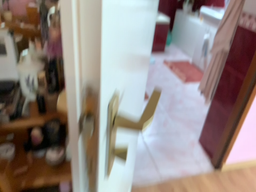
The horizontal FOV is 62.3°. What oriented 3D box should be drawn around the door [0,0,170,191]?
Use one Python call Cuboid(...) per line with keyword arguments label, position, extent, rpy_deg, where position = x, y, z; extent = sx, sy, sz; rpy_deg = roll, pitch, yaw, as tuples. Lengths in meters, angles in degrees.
Cuboid(label="door", position=(0.000, -0.040, 0.630), extent=(0.110, 2.260, 0.750), rpy_deg=(12, 32, 10))
